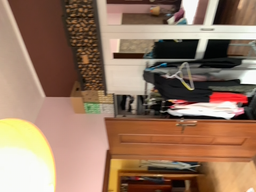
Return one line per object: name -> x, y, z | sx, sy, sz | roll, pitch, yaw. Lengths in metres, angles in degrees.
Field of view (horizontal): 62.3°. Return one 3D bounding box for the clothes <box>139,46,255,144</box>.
clothes -> 0.910, 0.050, 2.850 | 1.310, 1.480, 0.580 | 89, -178, -48
